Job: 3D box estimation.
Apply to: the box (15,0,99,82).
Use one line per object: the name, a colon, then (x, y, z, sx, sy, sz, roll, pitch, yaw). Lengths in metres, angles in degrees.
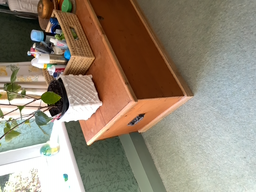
box: (-0.370, -0.290, 1.070, 0.260, 0.250, 0.350, -42, 64, 41)

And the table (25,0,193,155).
table: (-0.230, -0.330, 1.380, 0.660, 0.420, 1.160, -43, 63, 40)
